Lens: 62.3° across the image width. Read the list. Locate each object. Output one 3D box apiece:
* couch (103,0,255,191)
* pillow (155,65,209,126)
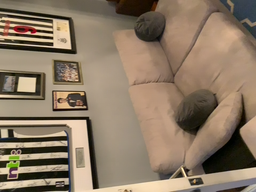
[{"bbox_3d":[0.430,-0.300,1.880,0.950,0.830,2.060,116,147,-47],"label":"couch"},{"bbox_3d":[0.400,0.000,1.650,0.280,0.180,0.370,117,147,-48],"label":"pillow"}]
